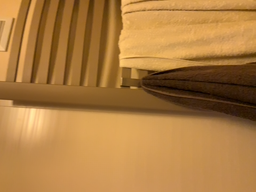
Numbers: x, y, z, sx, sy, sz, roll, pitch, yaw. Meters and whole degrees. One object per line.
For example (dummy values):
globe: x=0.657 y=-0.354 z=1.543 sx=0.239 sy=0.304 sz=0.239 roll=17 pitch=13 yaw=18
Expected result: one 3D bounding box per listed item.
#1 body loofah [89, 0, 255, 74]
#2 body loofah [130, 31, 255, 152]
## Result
body loofah: x=0.350 y=-0.220 z=0.640 sx=0.220 sy=0.870 sz=0.230 roll=84 pitch=-170 yaw=-73
body loofah: x=0.560 y=0.030 z=0.570 sx=0.240 sy=1.090 sz=0.260 roll=81 pitch=-167 yaw=-77
